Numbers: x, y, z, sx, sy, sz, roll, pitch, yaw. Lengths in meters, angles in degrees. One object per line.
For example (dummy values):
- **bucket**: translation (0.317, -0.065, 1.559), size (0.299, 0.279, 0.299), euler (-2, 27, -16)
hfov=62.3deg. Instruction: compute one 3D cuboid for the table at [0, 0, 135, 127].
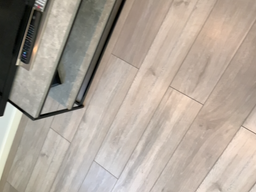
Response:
- **table**: translation (-0.300, -0.430, 1.070), size (0.430, 0.400, 1.030), euler (32, 107, 16)
